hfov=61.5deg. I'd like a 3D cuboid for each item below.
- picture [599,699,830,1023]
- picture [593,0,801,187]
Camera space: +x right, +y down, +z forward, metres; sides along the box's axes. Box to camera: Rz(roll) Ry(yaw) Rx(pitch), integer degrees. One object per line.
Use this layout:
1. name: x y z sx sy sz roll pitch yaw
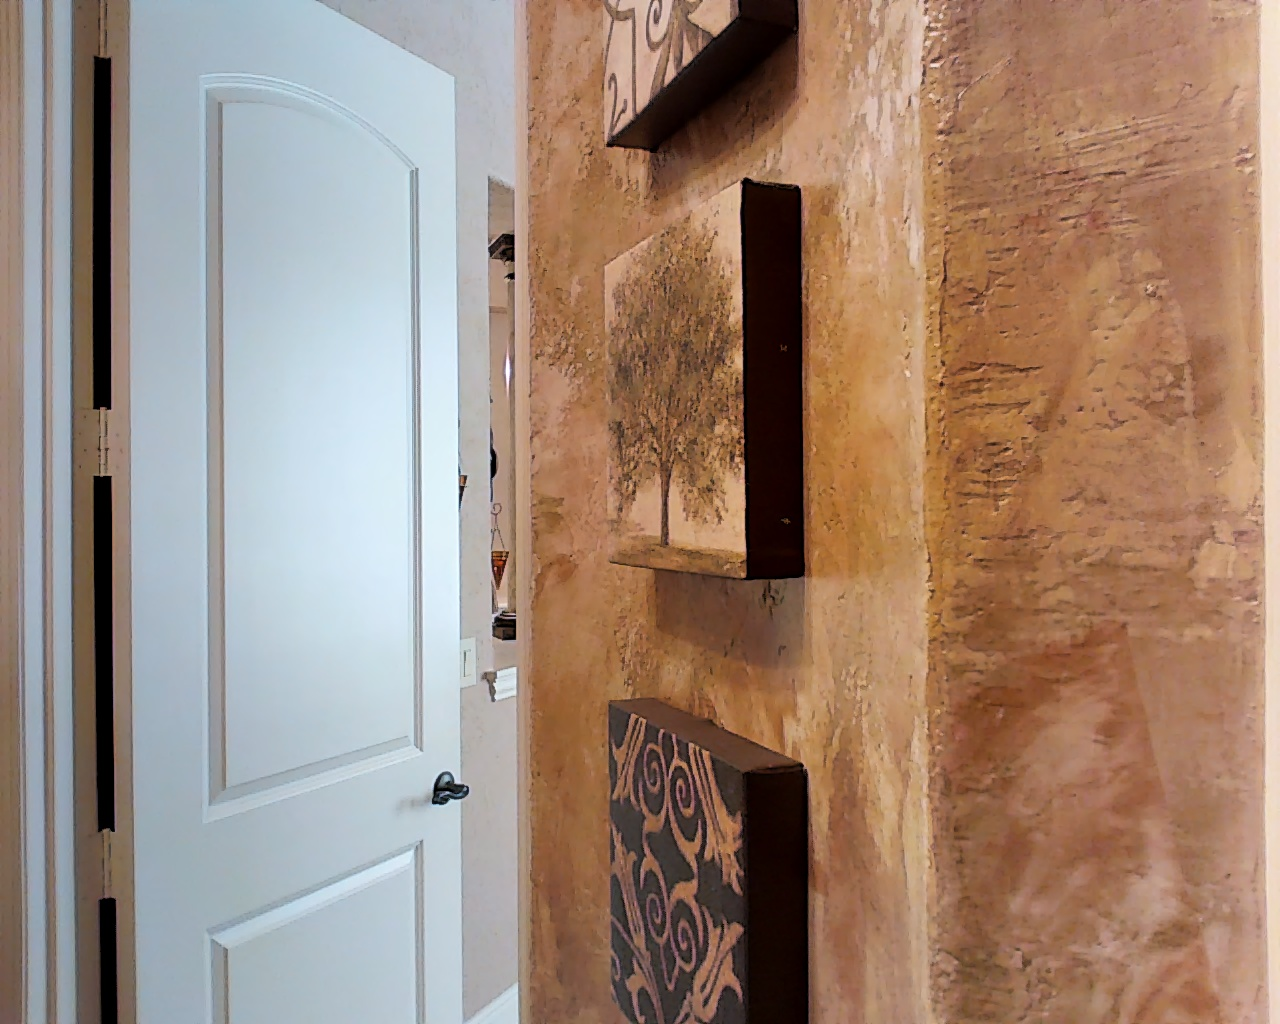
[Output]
1. picture: 0.040 0.280 0.740 0.060 0.260 0.250 1 -1 -20
2. picture: 0.030 -0.390 0.750 0.050 0.250 0.250 1 -1 -20
